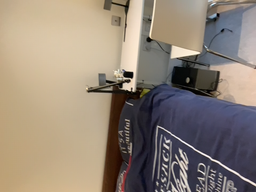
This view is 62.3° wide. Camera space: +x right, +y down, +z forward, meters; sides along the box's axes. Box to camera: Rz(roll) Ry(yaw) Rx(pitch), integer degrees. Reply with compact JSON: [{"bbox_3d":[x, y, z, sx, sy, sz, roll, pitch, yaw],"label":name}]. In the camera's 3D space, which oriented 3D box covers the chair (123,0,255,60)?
[{"bbox_3d":[0.470,-0.530,1.580,0.510,0.850,0.410,-153,69,-68],"label":"chair"}]
